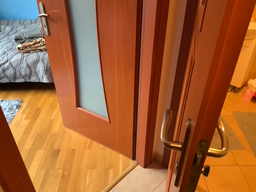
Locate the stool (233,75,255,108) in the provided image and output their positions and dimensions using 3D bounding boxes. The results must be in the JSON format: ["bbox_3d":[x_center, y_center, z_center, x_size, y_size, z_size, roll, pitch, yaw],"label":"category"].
[{"bbox_3d":[1.540,-0.050,2.580,0.340,0.200,0.330,-29,44,-36],"label":"stool"}]
